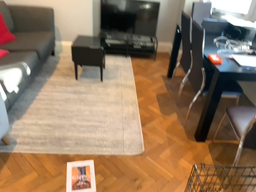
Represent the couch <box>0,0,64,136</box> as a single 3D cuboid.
[{"bbox_3d":[-1.530,-0.580,2.540,1.000,0.790,2.150,3,33,-5],"label":"couch"}]
